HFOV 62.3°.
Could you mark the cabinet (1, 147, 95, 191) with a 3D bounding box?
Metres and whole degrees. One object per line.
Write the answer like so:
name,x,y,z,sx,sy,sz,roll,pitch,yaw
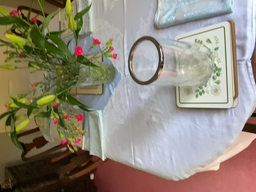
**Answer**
cabinet,-1.040,1.070,2.740,0.850,0.890,0.460,3,94,50
